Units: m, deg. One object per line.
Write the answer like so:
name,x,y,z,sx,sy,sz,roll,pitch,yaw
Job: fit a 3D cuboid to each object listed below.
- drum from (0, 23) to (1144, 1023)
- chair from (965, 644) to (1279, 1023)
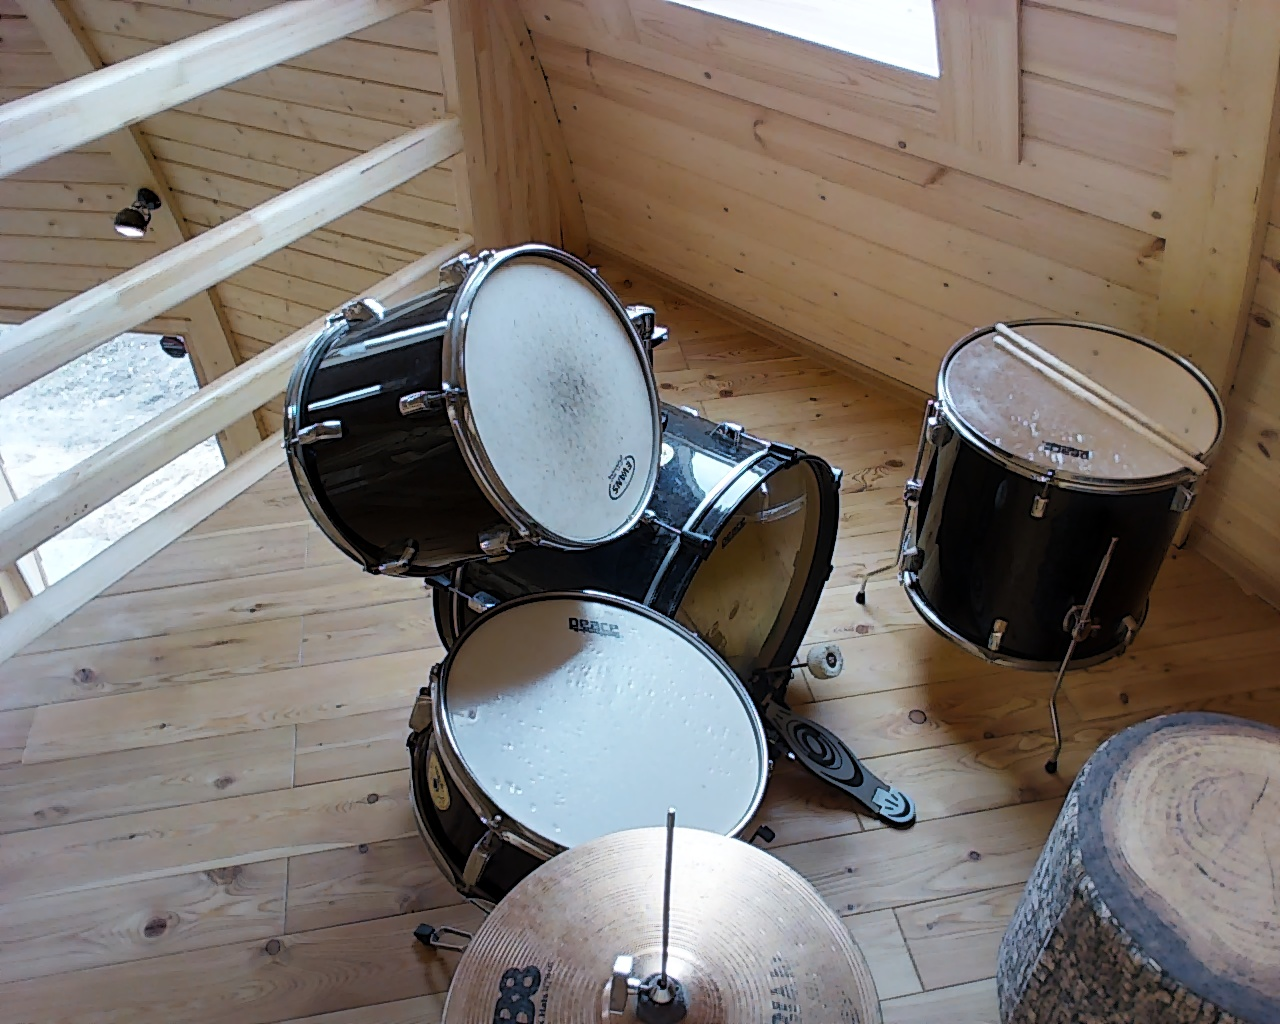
drum,-0.040,0.060,1.570,0.870,1.030,1.090,27,48,26
chair,0.740,0.560,1.410,0.500,0.500,0.460,11,44,12
